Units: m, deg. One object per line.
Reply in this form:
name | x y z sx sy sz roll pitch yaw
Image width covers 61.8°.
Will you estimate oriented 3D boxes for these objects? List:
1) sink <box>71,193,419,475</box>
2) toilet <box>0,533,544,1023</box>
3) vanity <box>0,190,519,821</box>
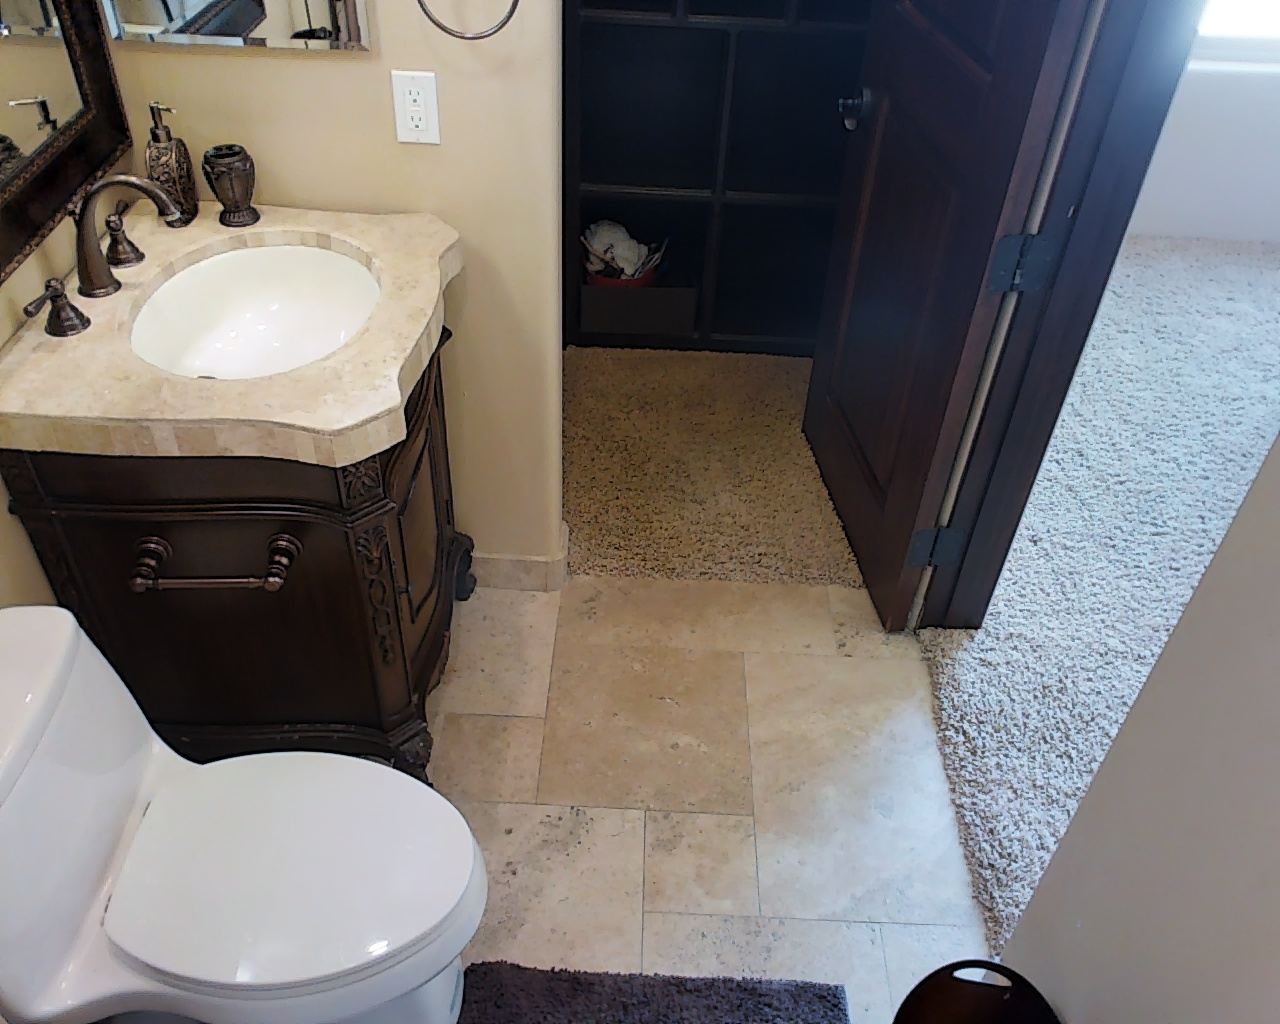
sink | -0.570 -0.290 1.650 0.350 0.180 0.480 3 42 0
toilet | -0.530 0.480 1.470 0.730 0.660 0.550 3 42 0
vanity | -0.570 0.000 1.880 0.610 0.850 0.660 4 42 0
